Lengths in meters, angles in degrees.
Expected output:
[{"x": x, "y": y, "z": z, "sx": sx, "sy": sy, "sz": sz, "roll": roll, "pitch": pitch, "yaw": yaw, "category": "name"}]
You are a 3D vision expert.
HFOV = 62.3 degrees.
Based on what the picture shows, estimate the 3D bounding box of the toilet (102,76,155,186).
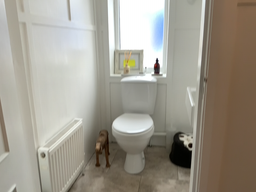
[{"x": 0.040, "y": 0.260, "z": 1.940, "sx": 0.360, "sy": 0.770, "sz": 0.660, "roll": 2, "pitch": 15, "yaw": 8, "category": "toilet"}]
